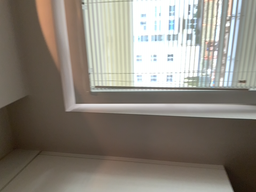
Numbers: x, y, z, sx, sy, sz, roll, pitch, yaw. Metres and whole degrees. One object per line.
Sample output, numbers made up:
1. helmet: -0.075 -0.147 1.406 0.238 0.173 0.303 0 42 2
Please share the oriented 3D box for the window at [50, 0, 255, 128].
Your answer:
1. window: 0.350 -0.600 0.940 0.150 1.460 1.490 -52 -38 -73
